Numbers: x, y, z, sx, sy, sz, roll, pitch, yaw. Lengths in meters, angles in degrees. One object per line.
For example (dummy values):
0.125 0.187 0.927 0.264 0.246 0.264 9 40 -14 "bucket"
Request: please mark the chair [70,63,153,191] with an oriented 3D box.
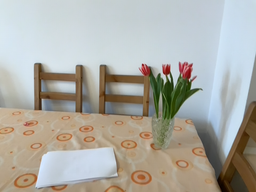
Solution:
-0.060 0.370 1.330 0.360 1.050 0.520 4 18 6 "chair"
